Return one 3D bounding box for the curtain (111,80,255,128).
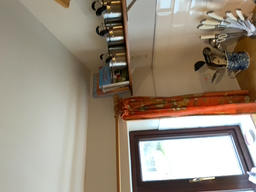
[{"bbox_3d":[0.370,0.060,1.480,0.200,0.950,0.180,84,-179,-58],"label":"curtain"}]
